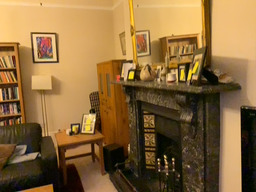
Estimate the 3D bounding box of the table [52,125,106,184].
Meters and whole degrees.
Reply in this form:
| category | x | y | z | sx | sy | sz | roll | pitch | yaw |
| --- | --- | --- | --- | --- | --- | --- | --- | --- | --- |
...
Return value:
| category | x | y | z | sx | sy | sz | roll | pitch | yaw |
| --- | --- | --- | --- | --- | --- | --- | --- | --- | --- |
| table | -0.720 | 0.790 | 3.060 | 0.620 | 0.540 | 0.620 | -5 | 7 | -23 |

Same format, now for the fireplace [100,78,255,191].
| category | x | y | z | sx | sy | sz | roll | pitch | yaw |
| --- | --- | --- | --- | --- | --- | --- | --- | --- | --- |
| fireplace | 0.280 | 0.480 | 2.190 | 0.640 | 1.270 | 1.770 | -5 | 7 | -21 |
